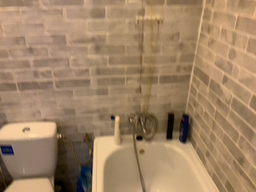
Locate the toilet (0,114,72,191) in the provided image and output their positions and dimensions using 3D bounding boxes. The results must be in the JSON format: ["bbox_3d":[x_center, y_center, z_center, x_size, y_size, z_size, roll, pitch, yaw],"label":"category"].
[{"bbox_3d":[-0.620,0.620,1.330,0.360,0.750,0.670,-2,28,-5],"label":"toilet"}]
